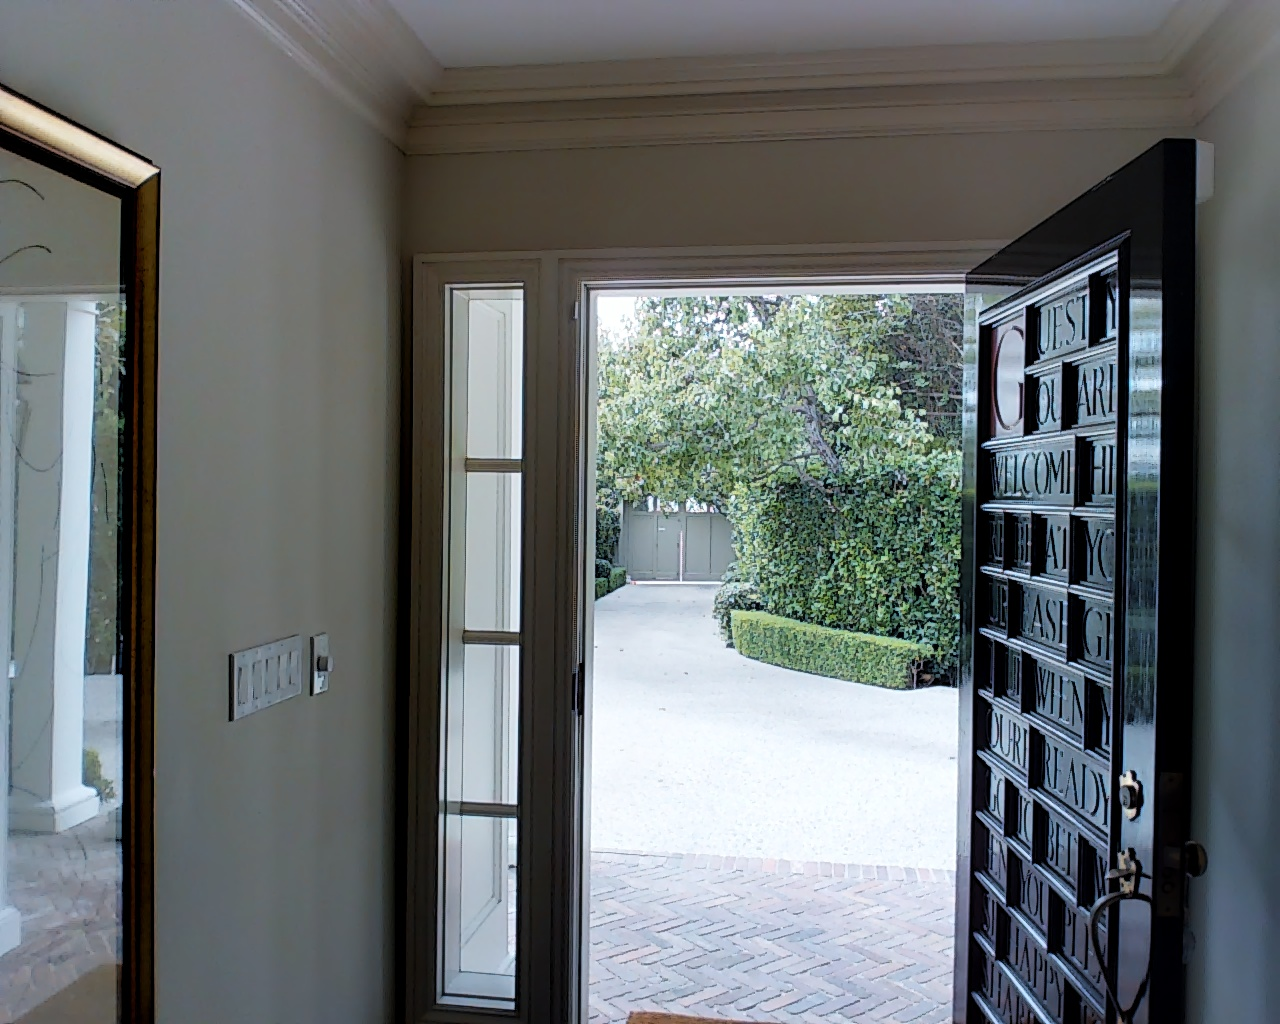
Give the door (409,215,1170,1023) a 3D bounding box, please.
[{"bbox_3d":[0.310,0.450,2.580,1.720,2.200,0.210,0,1,8],"label":"door"}]
